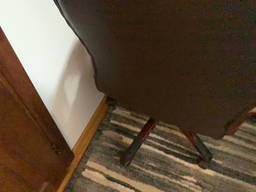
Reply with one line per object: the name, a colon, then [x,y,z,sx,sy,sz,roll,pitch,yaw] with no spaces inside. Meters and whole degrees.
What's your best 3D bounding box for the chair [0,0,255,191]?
chair: [0.170,-0.170,0.780,0.690,1.110,0.660,18,56,12]
